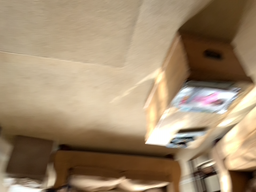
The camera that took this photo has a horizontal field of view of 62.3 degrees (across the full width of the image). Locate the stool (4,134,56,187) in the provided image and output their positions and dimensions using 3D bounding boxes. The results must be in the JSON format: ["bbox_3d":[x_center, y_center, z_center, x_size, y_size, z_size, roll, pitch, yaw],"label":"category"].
[{"bbox_3d":[-1.110,0.760,2.470,0.430,0.420,0.430,10,138,-14],"label":"stool"}]

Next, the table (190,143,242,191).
[{"bbox_3d":[1.150,1.000,2.810,0.400,0.550,0.350,-31,132,29],"label":"table"}]

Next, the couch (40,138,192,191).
[{"bbox_3d":[-0.190,1.240,2.750,1.690,0.850,0.960,8,138,-13],"label":"couch"}]
